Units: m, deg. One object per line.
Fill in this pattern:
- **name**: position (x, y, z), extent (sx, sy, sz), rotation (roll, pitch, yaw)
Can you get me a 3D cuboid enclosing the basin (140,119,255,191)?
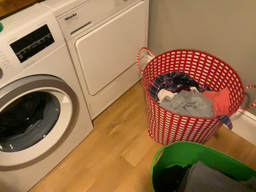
- **basin**: position (0.400, 0.420, 0.890), extent (0.570, 0.170, 0.400), rotation (30, 58, 23)
